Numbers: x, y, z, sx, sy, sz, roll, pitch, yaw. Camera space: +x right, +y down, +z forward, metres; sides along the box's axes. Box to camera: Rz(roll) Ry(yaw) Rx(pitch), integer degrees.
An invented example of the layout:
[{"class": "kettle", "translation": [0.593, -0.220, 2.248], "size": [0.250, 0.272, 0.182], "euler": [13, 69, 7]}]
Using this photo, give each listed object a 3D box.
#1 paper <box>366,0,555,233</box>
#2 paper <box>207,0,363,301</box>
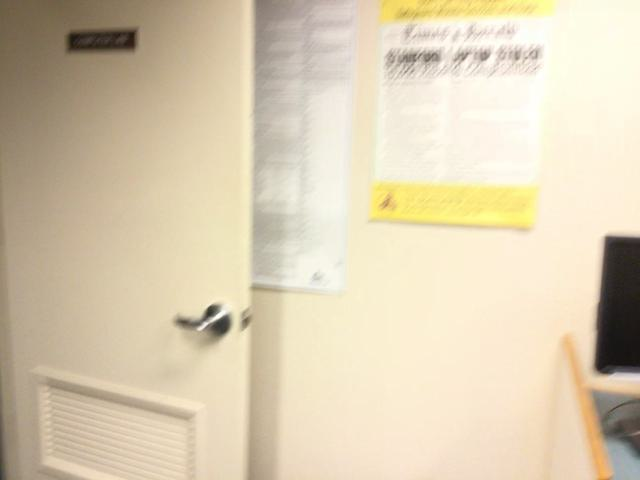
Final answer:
[{"class": "paper", "translation": [0.370, -0.340, 1.580], "size": [0.480, 0.620, 0.080], "euler": [3, 7, 22]}, {"class": "paper", "translation": [-0.110, -0.320, 1.750], "size": [0.470, 0.970, 0.080], "euler": [3, 7, 22]}]
